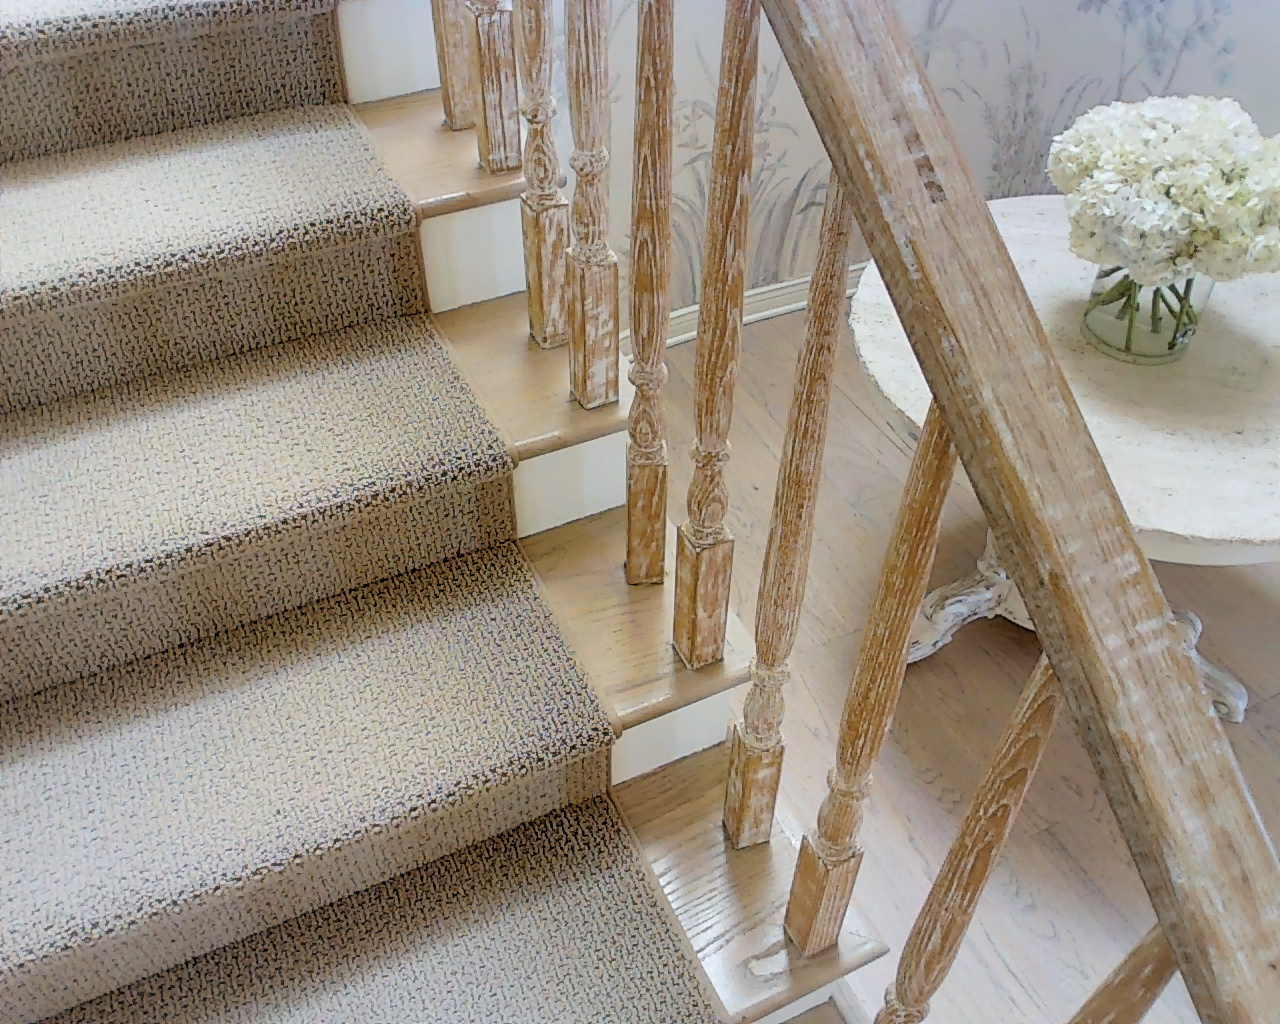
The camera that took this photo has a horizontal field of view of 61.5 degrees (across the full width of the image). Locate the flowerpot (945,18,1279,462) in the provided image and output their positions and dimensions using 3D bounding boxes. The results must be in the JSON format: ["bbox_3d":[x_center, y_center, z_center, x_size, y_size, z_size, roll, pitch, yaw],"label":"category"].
[{"bbox_3d":[0.890,-0.460,1.760,0.510,0.450,0.460,-18,46,-17],"label":"flowerpot"}]
